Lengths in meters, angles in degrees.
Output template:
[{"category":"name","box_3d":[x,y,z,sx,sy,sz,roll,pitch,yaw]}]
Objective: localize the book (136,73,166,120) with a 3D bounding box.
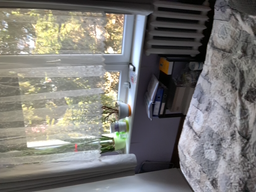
[{"category":"book","box_3d":[0.230,0.000,2.260,0.270,0.160,0.410,-121,34,-57]}]

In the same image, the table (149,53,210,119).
[{"category":"table","box_3d":[0.540,-0.110,2.320,0.250,0.470,0.650,-125,37,-59]}]
